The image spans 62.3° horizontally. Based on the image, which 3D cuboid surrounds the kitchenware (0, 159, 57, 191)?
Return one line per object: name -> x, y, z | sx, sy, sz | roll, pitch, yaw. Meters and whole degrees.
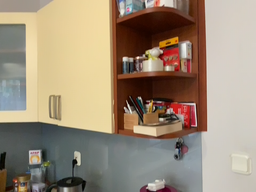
kitchenware -> -0.790, 0.670, 1.650 | 0.370, 0.220, 0.310 | -1, -1, 44
